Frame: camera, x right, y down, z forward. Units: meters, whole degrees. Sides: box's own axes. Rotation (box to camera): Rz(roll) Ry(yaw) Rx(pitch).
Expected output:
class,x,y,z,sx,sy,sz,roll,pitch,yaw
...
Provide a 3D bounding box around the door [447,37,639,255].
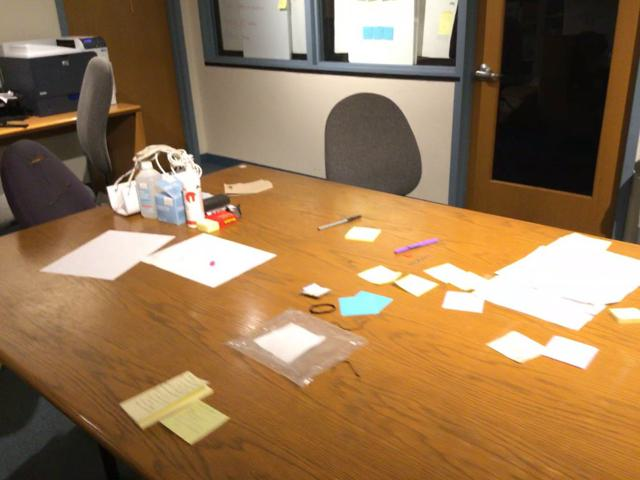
class,x,y,z,sx,sy,sz,roll,pitch,yaw
door,1.150,-0.530,3.120,0.880,1.040,0.150,18,29,37

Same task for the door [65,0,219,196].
class,x,y,z,sx,sy,sz,roll,pitch,yaw
door,-1.290,-1.400,4.300,0.170,1.940,1.030,18,29,37
